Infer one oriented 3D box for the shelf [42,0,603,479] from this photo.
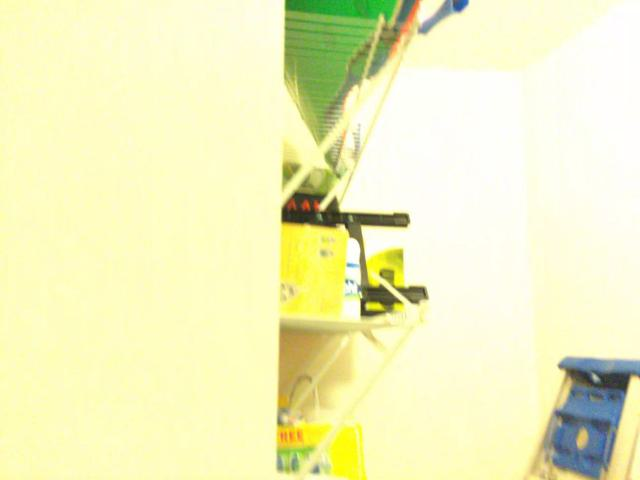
[{"bbox_3d":[-0.010,0.300,1.230,0.490,1.310,1.460,0,-10,-1],"label":"shelf"}]
